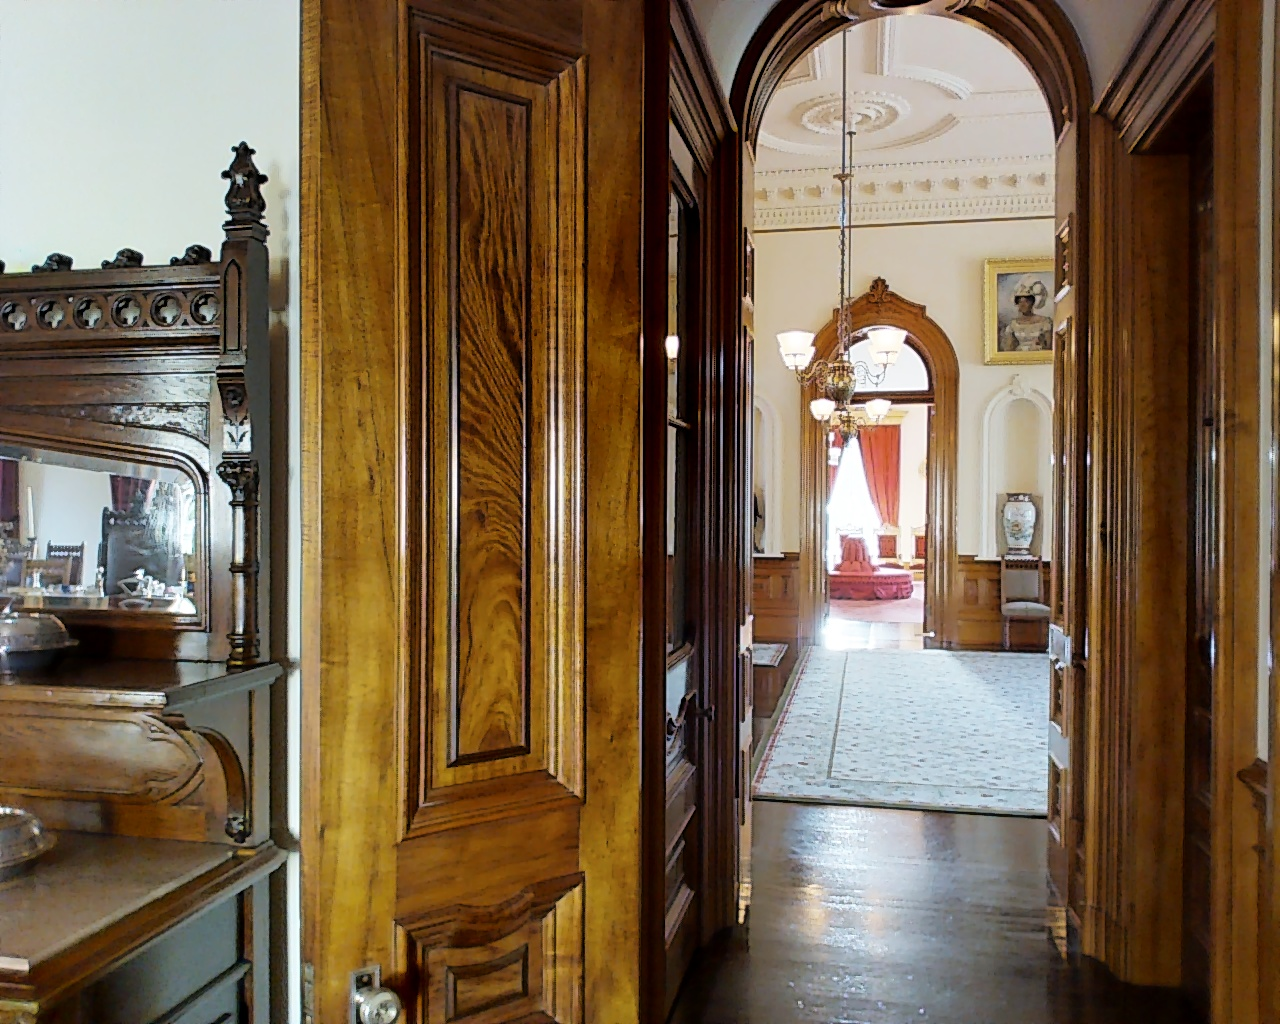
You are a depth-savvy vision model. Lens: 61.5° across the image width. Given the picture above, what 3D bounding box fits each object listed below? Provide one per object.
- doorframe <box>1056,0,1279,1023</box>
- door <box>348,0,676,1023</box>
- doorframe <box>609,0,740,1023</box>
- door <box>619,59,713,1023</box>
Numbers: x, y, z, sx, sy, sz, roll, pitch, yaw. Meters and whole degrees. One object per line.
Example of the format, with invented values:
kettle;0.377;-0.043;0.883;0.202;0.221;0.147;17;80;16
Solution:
doorframe;1.520;-0.050;3.120;0.290;3.080;1.570;1;0;11
door;-0.190;0.040;1.760;0.560;2.880;0.100;0;1;-40
doorframe;0.150;-0.060;3.400;0.150;3.060;1.450;1;0;11
door;0.100;0.110;3.420;0.120;2.710;0.920;1;0;11
